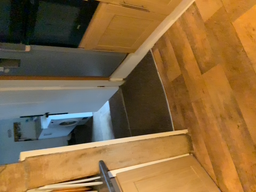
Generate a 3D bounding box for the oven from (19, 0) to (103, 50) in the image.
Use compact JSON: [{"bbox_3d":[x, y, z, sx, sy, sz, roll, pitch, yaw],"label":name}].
[{"bbox_3d":[-0.590,-0.820,1.720,0.650,0.460,0.580,-37,62,53],"label":"oven"}]
